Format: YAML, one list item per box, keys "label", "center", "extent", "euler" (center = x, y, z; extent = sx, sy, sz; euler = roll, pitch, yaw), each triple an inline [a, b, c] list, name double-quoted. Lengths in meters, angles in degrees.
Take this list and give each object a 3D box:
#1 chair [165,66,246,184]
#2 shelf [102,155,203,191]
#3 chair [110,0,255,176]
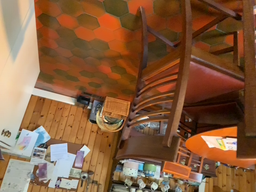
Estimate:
- label: "chair"
  center: [0.700, 0.270, 1.890]
  extent: [0.460, 0.860, 0.460]
  euler: [26, 154, -37]
- label: "shelf"
  center: [0.330, 1.540, 2.880]
  extent: [1.390, 1.190, 0.310]
  euler: [16, 159, -17]
- label: "chair"
  center: [0.280, -0.100, 1.080]
  extent: [0.460, 0.870, 0.420]
  euler: [19, 158, -24]
